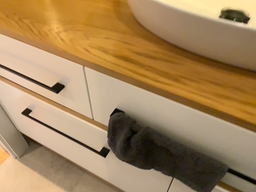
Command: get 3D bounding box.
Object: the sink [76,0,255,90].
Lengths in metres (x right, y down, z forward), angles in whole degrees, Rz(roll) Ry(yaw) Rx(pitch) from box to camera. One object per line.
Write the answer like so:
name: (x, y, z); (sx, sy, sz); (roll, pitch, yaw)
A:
sink: (0.260, -0.190, 0.470); (0.650, 0.110, 0.360); (23, 52, 18)
